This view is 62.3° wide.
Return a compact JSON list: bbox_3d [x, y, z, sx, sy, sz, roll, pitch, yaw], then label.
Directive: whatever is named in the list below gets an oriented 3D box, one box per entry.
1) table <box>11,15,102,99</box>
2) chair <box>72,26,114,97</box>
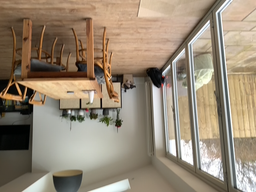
[{"bbox_3d":[-0.900,-0.450,3.180,0.870,0.780,1.550,-2,173,-3],"label":"table"},{"bbox_3d":[-0.470,-0.450,2.930,0.510,0.870,0.430,-2,173,-3],"label":"chair"}]
